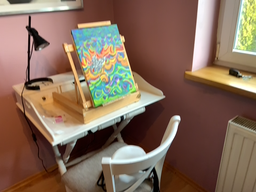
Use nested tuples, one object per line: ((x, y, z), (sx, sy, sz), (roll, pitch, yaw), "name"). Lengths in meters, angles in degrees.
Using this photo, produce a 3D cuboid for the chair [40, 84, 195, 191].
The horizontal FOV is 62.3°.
((-0.050, 0.490, 1.190), (0.470, 0.910, 0.570), (-24, 33, -38), "chair")
